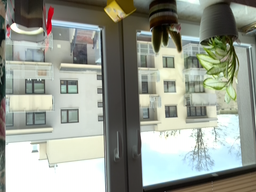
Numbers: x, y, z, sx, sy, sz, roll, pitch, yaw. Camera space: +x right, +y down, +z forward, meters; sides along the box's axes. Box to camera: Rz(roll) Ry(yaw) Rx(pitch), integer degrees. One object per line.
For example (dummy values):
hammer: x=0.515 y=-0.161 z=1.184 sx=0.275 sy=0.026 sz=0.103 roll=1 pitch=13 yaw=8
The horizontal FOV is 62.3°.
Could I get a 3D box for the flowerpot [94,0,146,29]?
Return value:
flowerpot: x=-0.040 y=-0.410 z=0.980 sx=0.190 sy=0.120 sz=0.150 roll=1 pitch=175 yaw=-29
